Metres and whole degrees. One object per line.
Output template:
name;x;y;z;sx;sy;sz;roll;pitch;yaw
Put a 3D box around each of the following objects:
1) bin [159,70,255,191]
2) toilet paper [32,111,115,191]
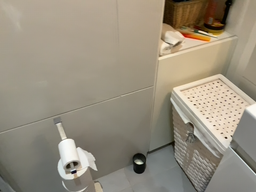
bin;0.410;0.210;1.130;0.310;0.540;0.340;-17;45;-17
toilet paper;-0.220;0.380;0.990;0.250;0.580;0.220;-16;45;-17
